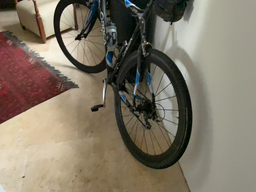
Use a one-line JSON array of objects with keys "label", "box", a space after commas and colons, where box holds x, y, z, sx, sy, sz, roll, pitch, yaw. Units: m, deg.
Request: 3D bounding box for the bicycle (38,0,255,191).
[{"label": "bicycle", "box": [-0.210, -0.370, 1.520, 0.590, 1.080, 1.920, -16, 45, -18]}]
